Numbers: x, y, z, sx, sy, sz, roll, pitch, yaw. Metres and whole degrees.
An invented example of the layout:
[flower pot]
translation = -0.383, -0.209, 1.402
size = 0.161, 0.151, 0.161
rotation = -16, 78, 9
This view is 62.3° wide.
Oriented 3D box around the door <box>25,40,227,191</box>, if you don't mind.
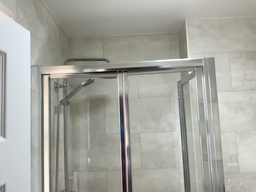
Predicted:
[door]
translation = 0.000, 0.760, 1.030
size = 0.980, 2.070, 0.050
rotation = -2, -5, 0
